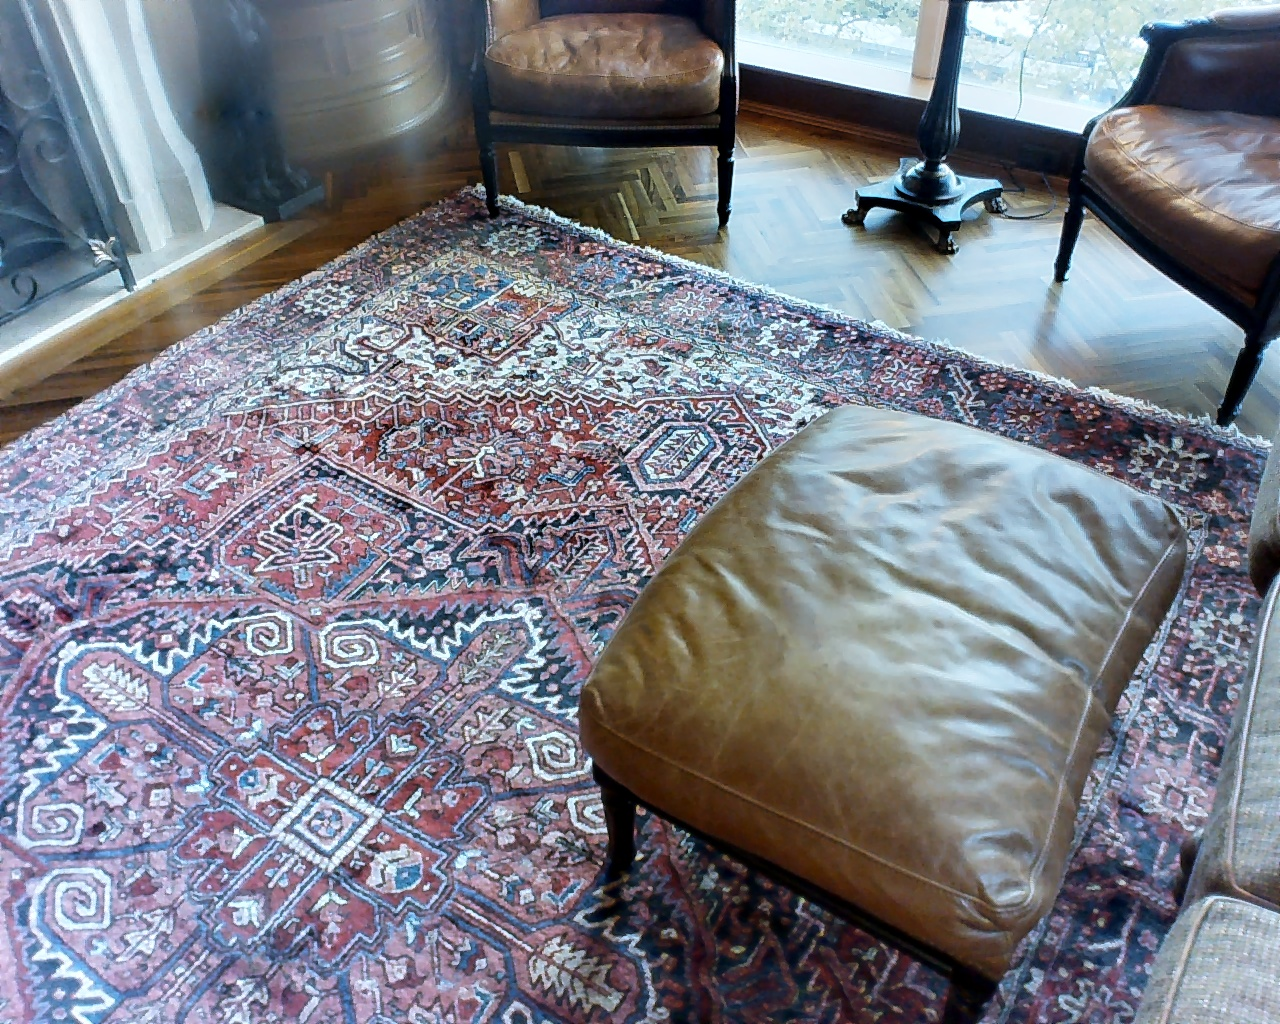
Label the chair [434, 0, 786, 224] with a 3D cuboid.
[{"bbox_3d":[-0.040,-1.580,3.040,0.870,1.100,1.050,2,42,4],"label":"chair"}]

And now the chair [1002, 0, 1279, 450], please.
[{"bbox_3d":[1.540,-0.910,2.310,0.960,1.140,0.830,-10,43,-10],"label":"chair"}]
